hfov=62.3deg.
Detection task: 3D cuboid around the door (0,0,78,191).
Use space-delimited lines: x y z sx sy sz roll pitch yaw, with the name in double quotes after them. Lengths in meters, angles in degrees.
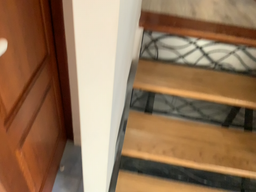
-0.370 -0.180 0.790 0.110 2.080 0.720 8 41 -1 "door"
